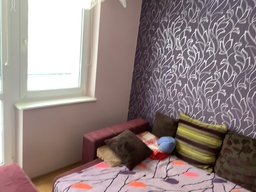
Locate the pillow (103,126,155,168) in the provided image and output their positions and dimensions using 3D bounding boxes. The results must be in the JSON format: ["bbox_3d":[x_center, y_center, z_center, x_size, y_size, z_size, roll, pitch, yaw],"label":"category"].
[{"bbox_3d":[0.010,0.530,2.320,0.370,0.230,0.410,16,15,37],"label":"pillow"}]

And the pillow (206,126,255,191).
[{"bbox_3d":[1.080,0.620,2.060,0.460,0.480,0.270,15,15,36],"label":"pillow"}]

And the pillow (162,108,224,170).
[{"bbox_3d":[0.710,0.470,2.380,0.480,0.470,0.170,34,25,30],"label":"pillow"}]
